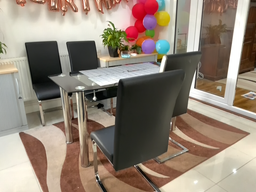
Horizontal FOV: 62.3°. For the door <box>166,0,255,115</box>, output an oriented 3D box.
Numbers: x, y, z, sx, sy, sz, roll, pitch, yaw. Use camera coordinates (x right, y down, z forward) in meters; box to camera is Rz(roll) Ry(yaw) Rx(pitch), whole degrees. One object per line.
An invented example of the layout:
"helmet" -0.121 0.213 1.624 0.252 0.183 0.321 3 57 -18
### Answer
"door" 1.430 -0.880 2.670 0.130 2.110 2.400 -14 24 -32
